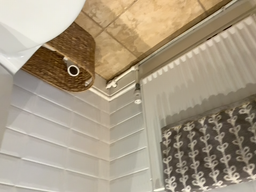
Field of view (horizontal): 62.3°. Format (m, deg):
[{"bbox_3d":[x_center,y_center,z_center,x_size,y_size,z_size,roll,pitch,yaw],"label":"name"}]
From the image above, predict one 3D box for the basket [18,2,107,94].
[{"bbox_3d":[-0.310,-0.230,1.100,0.200,0.240,0.370,-29,136,30],"label":"basket"}]
